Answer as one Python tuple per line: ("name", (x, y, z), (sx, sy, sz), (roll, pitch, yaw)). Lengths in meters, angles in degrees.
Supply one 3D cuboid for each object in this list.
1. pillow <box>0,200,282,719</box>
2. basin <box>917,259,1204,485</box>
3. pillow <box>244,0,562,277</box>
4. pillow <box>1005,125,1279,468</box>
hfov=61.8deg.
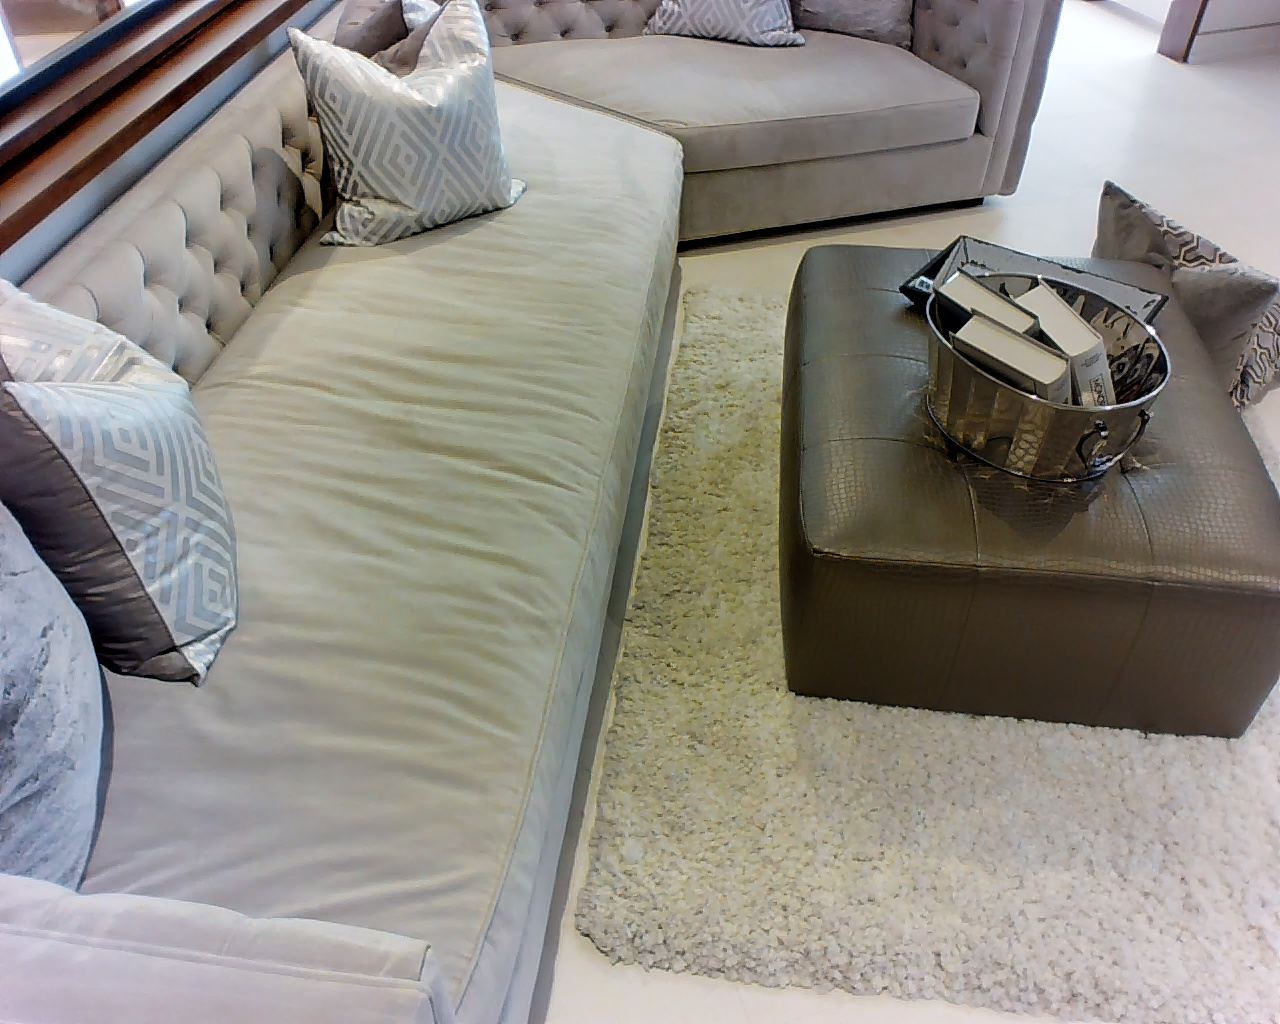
("pillow", (-0.790, -0.100, 1.570), (0.310, 0.460, 0.570), (-17, 44, -20))
("basin", (0.730, -0.260, 1.930), (0.340, 0.240, 0.370), (0, 41, -1))
("pillow", (-0.550, -0.950, 2.590), (0.570, 0.490, 0.410), (-25, 47, -27))
("pillow", (1.530, -0.600, 2.830), (0.770, 0.500, 0.620), (-22, 45, -24))
